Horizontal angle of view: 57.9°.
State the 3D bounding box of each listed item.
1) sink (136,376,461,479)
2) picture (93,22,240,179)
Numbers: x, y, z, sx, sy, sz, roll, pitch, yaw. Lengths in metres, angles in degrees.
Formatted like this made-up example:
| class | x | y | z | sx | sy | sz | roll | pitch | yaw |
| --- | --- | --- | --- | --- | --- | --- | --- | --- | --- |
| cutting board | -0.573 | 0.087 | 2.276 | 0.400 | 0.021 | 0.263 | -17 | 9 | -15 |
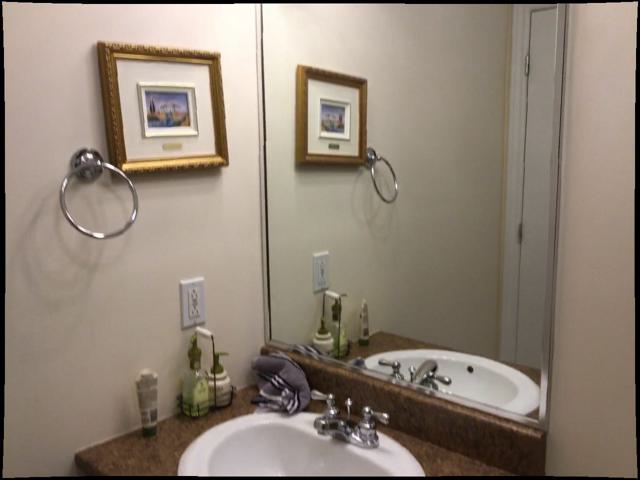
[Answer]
| class | x | y | z | sx | sy | sz | roll | pitch | yaw |
| --- | --- | --- | --- | --- | --- | --- | --- | --- | --- |
| sink | -0.040 | 0.501 | 1.150 | 0.470 | 0.220 | 0.430 | 8 | 12 | 40 |
| picture | -0.330 | -0.300 | 1.310 | 0.040 | 0.310 | 0.350 | 8 | 12 | 40 |
